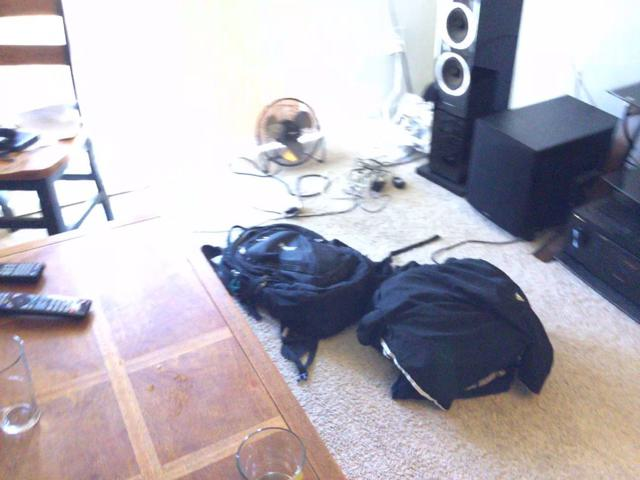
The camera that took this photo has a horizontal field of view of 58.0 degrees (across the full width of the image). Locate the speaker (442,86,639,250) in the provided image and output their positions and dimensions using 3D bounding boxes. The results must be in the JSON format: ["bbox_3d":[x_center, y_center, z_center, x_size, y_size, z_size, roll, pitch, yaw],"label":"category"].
[{"bbox_3d":[0.760,-0.280,2.070,0.440,0.380,0.440,-16,31,-21],"label":"speaker"}]
